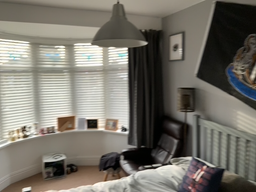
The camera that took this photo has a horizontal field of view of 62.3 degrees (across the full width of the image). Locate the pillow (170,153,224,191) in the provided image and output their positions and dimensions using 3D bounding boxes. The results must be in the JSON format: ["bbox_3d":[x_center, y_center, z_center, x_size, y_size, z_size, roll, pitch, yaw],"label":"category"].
[{"bbox_3d":[0.580,0.730,1.840,0.120,0.330,0.370,25,-4,-25],"label":"pillow"}]

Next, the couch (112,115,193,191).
[{"bbox_3d":[0.320,0.850,3.040,0.860,0.940,0.750,-4,8,-24],"label":"couch"}]
